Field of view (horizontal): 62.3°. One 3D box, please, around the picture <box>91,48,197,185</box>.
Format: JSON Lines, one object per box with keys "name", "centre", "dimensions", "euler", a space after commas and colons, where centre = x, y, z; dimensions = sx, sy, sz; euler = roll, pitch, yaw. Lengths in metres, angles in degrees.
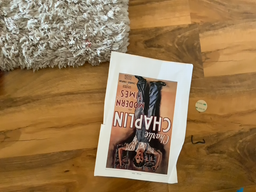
{"name": "picture", "centre": [0.040, 0.050, 0.530], "dimensions": [0.220, 0.060, 0.300], "euler": [7, 87, -4]}
